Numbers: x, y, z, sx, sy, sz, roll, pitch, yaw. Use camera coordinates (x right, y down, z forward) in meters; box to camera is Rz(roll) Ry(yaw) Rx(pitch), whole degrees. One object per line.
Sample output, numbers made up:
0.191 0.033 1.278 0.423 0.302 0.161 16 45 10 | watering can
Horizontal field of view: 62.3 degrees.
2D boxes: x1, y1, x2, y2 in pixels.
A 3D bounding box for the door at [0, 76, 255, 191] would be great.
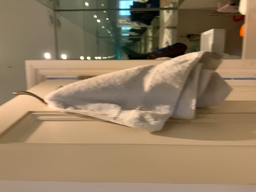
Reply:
0.590 0.030 0.680 0.790 2.130 0.030 -86 -4 -73 | door
